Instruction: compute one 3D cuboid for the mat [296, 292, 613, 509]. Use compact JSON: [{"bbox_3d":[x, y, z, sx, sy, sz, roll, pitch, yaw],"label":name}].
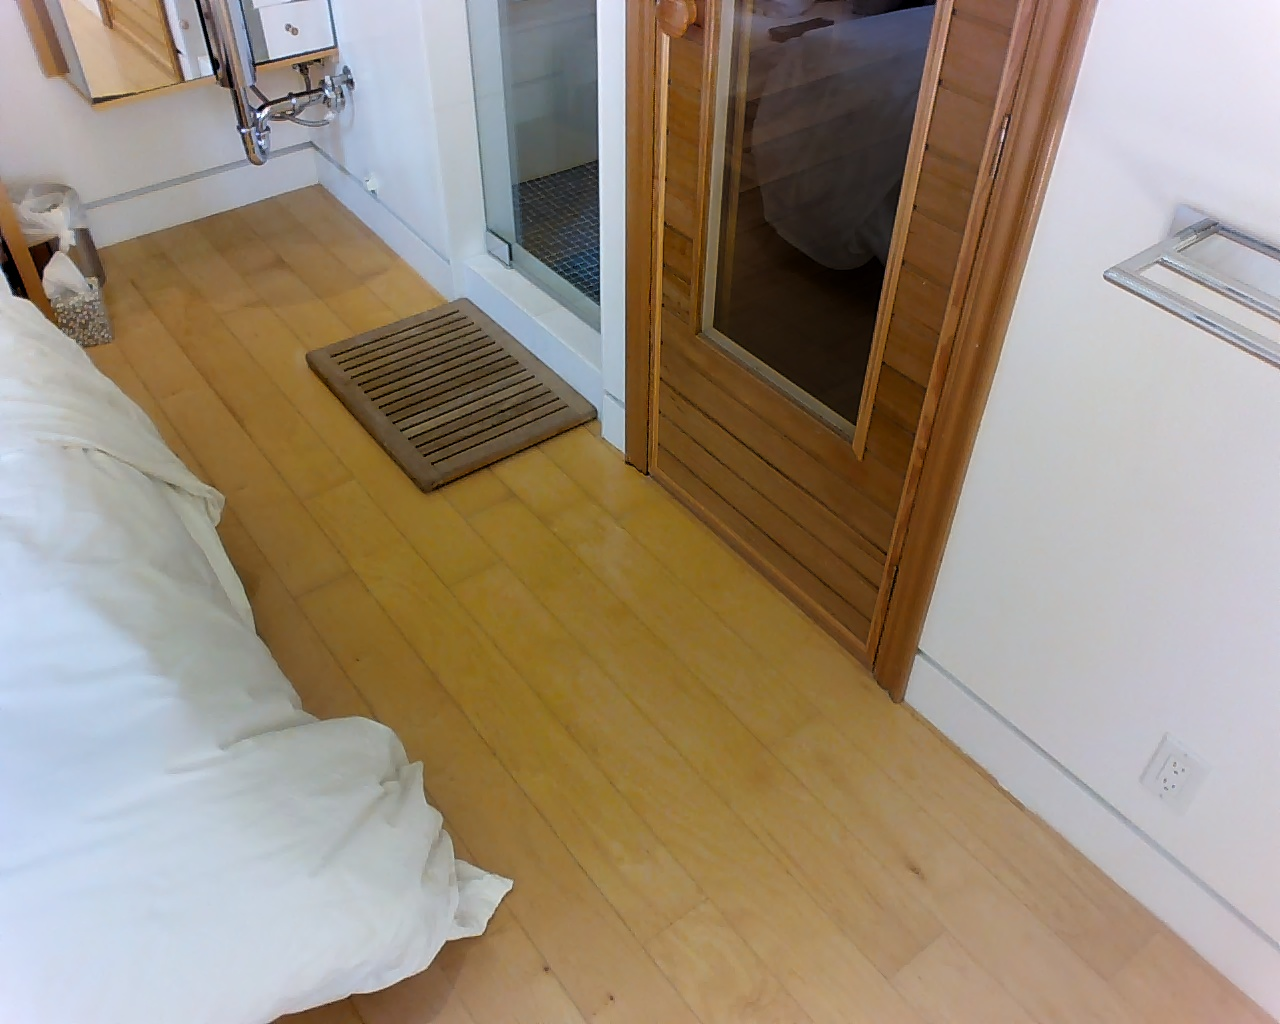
[{"bbox_3d":[-0.460,-0.300,2.610,0.500,0.030,0.660,-27,49,-26],"label":"mat"}]
